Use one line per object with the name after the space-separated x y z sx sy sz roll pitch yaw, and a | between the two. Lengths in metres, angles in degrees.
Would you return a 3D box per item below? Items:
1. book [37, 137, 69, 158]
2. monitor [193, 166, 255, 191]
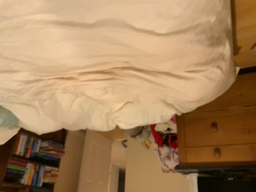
-0.820 0.580 2.360 0.130 0.160 0.320 -9 151 23 | book
0.690 0.650 1.450 0.440 0.310 0.050 -3 153 11 | monitor
